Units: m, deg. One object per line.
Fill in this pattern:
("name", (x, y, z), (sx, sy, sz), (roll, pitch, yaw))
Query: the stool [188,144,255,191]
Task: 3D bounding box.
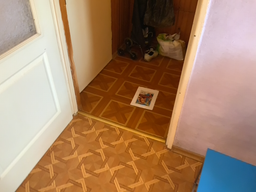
("stool", (0.510, 0.540, 1.130), (0.320, 0.360, 0.320), (17, 43, 16))
